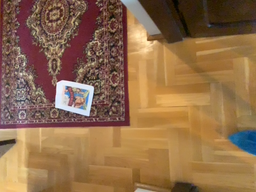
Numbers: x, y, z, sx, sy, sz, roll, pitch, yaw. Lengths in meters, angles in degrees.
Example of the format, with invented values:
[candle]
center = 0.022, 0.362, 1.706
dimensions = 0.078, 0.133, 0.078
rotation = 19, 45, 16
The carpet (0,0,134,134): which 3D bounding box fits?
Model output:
[carpet]
center = -0.570, -0.450, 1.570
dimensions = 1.200, 0.040, 1.430
rotation = -5, 85, 22
